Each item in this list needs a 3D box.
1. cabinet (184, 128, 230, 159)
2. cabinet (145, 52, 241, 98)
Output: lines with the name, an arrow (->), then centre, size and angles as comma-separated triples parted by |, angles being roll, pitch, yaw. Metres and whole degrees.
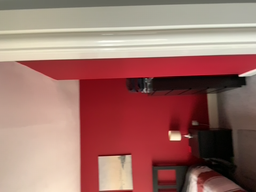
cabinet -> 1.260, 0.750, 3.440 | 0.510, 0.530, 0.420 | 88, 180, -84
cabinet -> 0.900, -0.280, 3.250 | 0.810, 1.200, 0.530 | 88, 180, -84
